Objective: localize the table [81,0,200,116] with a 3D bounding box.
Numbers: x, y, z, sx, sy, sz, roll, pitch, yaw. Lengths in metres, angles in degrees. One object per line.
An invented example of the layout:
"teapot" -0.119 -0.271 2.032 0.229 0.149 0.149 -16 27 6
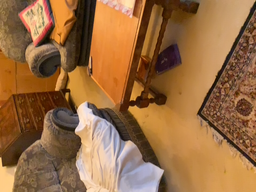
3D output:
"table" 0.070 -0.570 1.220 0.560 0.350 1.240 46 131 43

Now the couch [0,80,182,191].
"couch" -0.430 0.630 1.700 1.060 0.900 1.030 60 139 32
